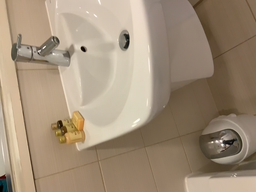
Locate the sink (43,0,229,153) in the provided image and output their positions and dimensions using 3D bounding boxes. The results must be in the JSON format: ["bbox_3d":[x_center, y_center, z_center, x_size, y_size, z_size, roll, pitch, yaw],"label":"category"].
[{"bbox_3d":[-0.060,-0.180,0.610,0.430,0.170,0.590,-33,69,51],"label":"sink"}]

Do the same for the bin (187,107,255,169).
[{"bbox_3d":[0.480,0.180,0.960,0.210,0.320,0.190,-31,70,51],"label":"bin"}]
